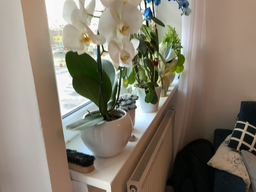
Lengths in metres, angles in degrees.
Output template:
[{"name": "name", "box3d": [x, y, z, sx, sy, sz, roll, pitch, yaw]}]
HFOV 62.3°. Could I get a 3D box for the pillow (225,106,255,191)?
[{"name": "pillow", "box3d": [0.820, 0.380, 1.370, 0.220, 0.490, 0.370, -19, -46, 42]}]
